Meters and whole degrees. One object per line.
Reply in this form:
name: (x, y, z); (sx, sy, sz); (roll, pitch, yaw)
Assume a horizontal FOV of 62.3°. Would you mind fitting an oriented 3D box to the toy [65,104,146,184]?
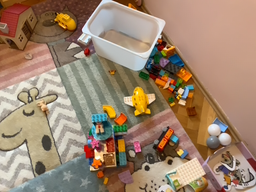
toy: (-0.100, 0.240, 1.010); (0.250, 0.270, 0.230); (-31, 71, -15)
